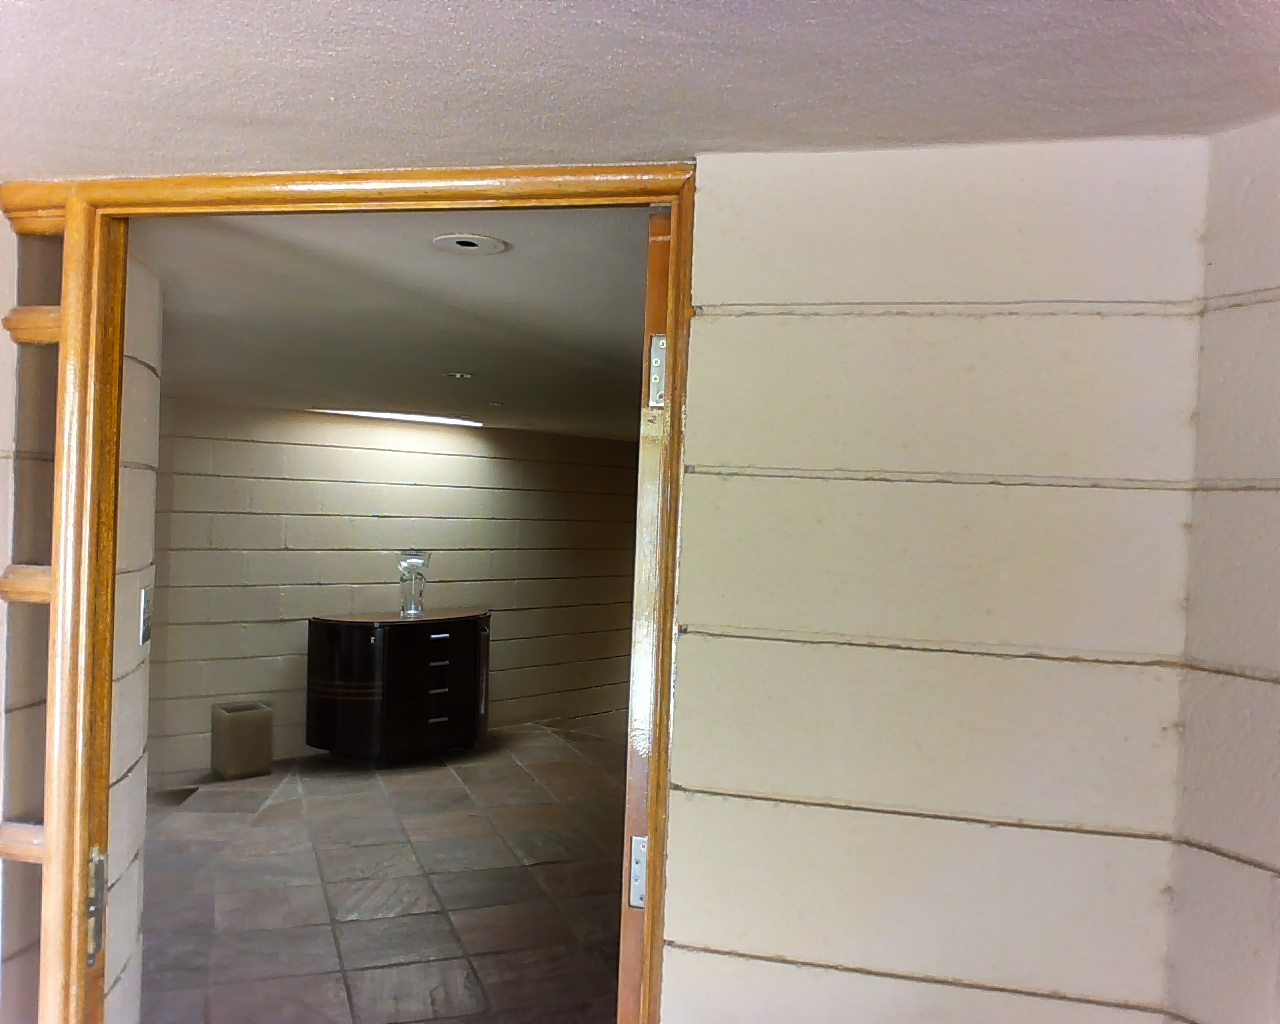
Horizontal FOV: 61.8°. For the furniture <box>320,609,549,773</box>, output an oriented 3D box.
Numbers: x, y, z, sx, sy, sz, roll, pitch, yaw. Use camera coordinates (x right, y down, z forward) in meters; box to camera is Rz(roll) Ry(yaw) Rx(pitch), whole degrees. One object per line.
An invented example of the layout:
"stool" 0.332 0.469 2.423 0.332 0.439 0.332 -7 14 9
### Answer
"furniture" -1.230 1.040 6.490 1.210 0.800 0.570 2 1 -40
